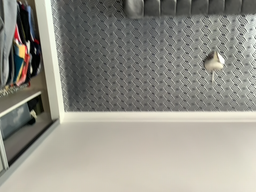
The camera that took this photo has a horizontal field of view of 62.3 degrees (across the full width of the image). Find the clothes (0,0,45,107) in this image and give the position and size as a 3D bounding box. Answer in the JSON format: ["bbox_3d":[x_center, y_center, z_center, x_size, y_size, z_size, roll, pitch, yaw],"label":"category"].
[{"bbox_3d":[-1.110,-0.450,1.910,0.310,0.830,0.960,-2,-163,-3],"label":"clothes"}]
